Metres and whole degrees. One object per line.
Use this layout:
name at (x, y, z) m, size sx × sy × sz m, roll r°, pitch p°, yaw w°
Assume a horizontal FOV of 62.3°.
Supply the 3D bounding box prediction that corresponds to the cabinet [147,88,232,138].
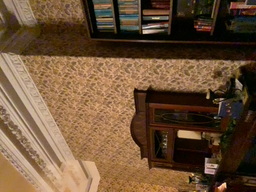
cabinet at (0.570, 0.170, 2.100) m, size 0.430 × 0.730 × 0.210 m, roll 83°, pitch -165°, yaw -46°
